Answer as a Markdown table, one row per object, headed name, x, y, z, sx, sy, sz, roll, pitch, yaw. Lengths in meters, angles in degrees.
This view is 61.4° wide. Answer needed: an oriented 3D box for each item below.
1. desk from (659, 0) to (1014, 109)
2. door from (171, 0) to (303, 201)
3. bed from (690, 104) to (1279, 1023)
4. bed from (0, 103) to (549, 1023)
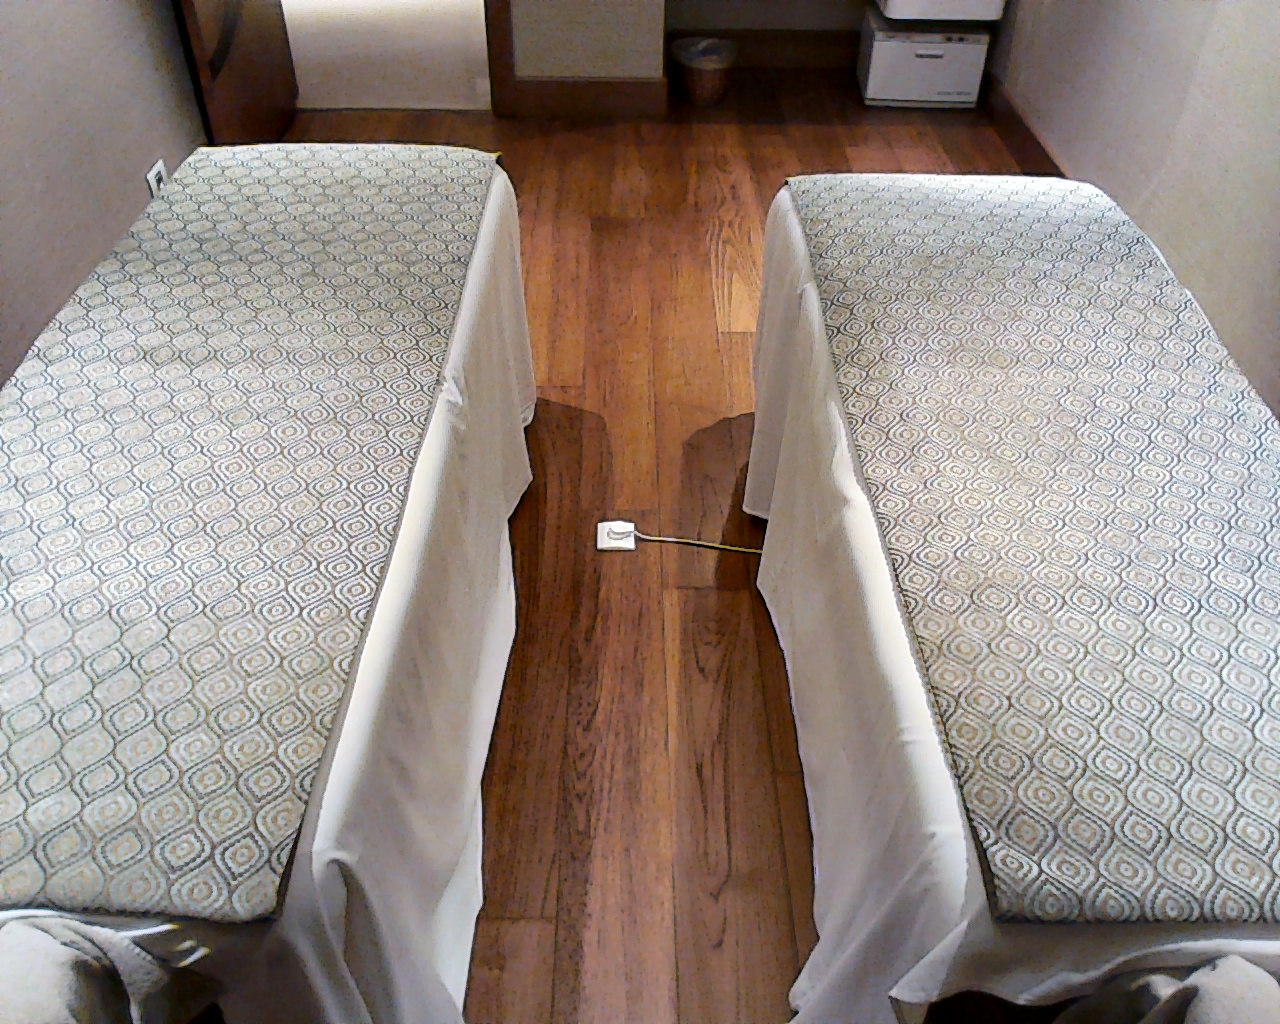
| name | x | y | z | sx | sy | sz | roll | pitch | yaw |
| --- | --- | --- | --- | --- | --- | --- | --- | --- | --- |
| desk | 0.750 | -2.110 | 4.280 | 1.310 | 0.780 | 0.590 | 0 | 41 | -1 |
| door | -1.360 | -2.130 | 3.260 | 0.070 | 2.120 | 0.850 | 1 | 41 | 0 |
| bed | 0.620 | 0.130 | 1.770 | 0.930 | 0.780 | 2.160 | 0 | 41 | -1 |
| bed | -0.680 | 0.110 | 1.790 | 0.920 | 0.740 | 2.220 | 0 | 41 | -1 |
